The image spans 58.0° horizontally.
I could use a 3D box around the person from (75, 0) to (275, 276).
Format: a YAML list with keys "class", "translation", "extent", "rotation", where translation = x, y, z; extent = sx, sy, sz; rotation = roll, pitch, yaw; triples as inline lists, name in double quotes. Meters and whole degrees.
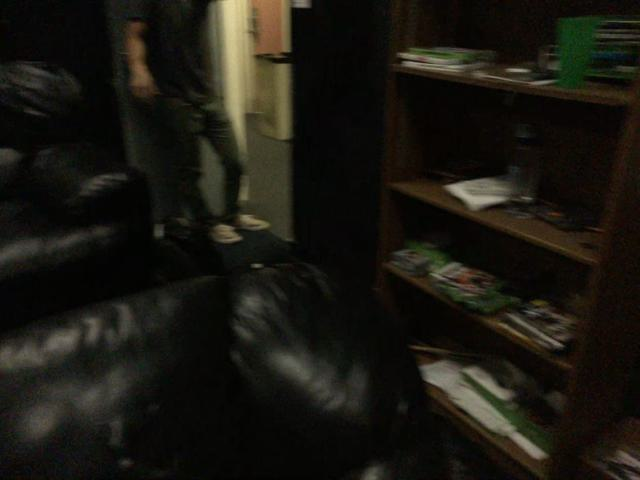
- class: "person"
  translation: [-0.730, -0.730, 2.990]
  extent: [0.750, 1.610, 0.560]
  rotation: [-14, 23, -33]

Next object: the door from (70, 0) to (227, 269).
- class: "door"
  translation: [-0.870, -0.890, 2.920]
  extent: [0.590, 2.000, 0.290]
  rotation: [-14, 23, -33]

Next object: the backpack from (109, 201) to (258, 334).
- class: "backpack"
  translation: [-0.640, 0.100, 2.710]
  extent: [0.500, 0.400, 0.480]
  rotation: [-14, 23, -33]
